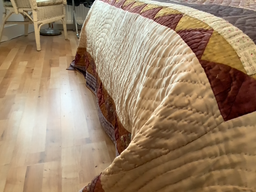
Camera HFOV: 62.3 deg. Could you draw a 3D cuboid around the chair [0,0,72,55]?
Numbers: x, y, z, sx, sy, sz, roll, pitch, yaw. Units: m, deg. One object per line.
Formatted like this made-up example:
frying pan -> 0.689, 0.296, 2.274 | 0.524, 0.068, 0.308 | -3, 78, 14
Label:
chair -> -1.090, -0.980, 2.250 | 0.650, 0.830, 0.690 | 10, 29, 12
